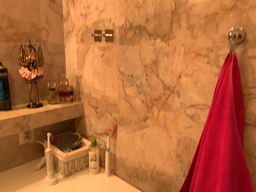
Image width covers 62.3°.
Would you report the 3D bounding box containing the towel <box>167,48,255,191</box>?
[{"bbox_3d":[0.250,0.270,0.650,0.220,0.810,0.120,14,18,41],"label":"towel"}]
